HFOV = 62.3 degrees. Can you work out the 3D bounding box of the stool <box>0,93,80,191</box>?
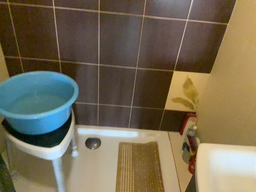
[{"bbox_3d":[-0.520,0.320,1.240,0.400,0.490,0.450,3,36,-6],"label":"stool"}]
